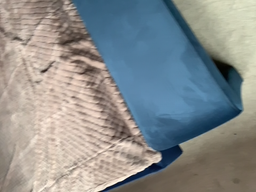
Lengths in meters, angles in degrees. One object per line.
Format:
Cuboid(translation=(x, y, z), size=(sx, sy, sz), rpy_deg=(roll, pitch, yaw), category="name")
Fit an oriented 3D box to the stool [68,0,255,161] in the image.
Cuboid(translation=(0.000, -0.520, 1.080), size=(0.390, 0.430, 1.530), rpy_deg=(-37, 74, 35), category="stool")
